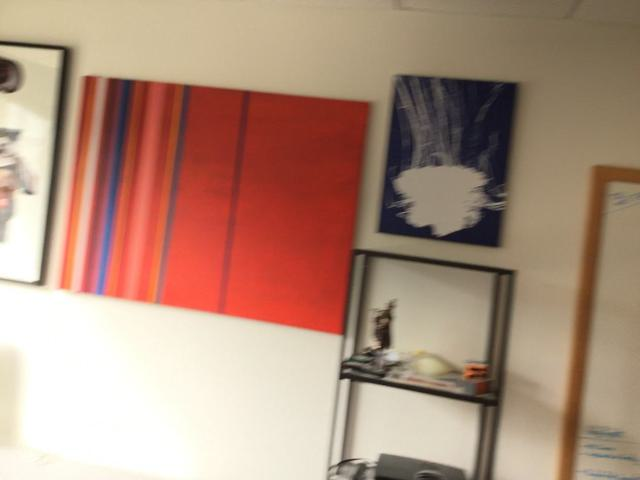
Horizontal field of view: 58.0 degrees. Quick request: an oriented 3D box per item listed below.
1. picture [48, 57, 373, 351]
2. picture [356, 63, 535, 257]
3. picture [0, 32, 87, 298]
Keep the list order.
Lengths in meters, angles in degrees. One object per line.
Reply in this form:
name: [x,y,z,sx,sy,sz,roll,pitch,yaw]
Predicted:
picture: [-0.450,-0.170,2.240,1.170,0.980,0.070,9,0,13]
picture: [0.440,-0.290,2.060,0.530,0.630,0.050,9,0,13]
picture: [-1.490,-0.350,2.430,0.920,1.040,0.090,9,0,13]
